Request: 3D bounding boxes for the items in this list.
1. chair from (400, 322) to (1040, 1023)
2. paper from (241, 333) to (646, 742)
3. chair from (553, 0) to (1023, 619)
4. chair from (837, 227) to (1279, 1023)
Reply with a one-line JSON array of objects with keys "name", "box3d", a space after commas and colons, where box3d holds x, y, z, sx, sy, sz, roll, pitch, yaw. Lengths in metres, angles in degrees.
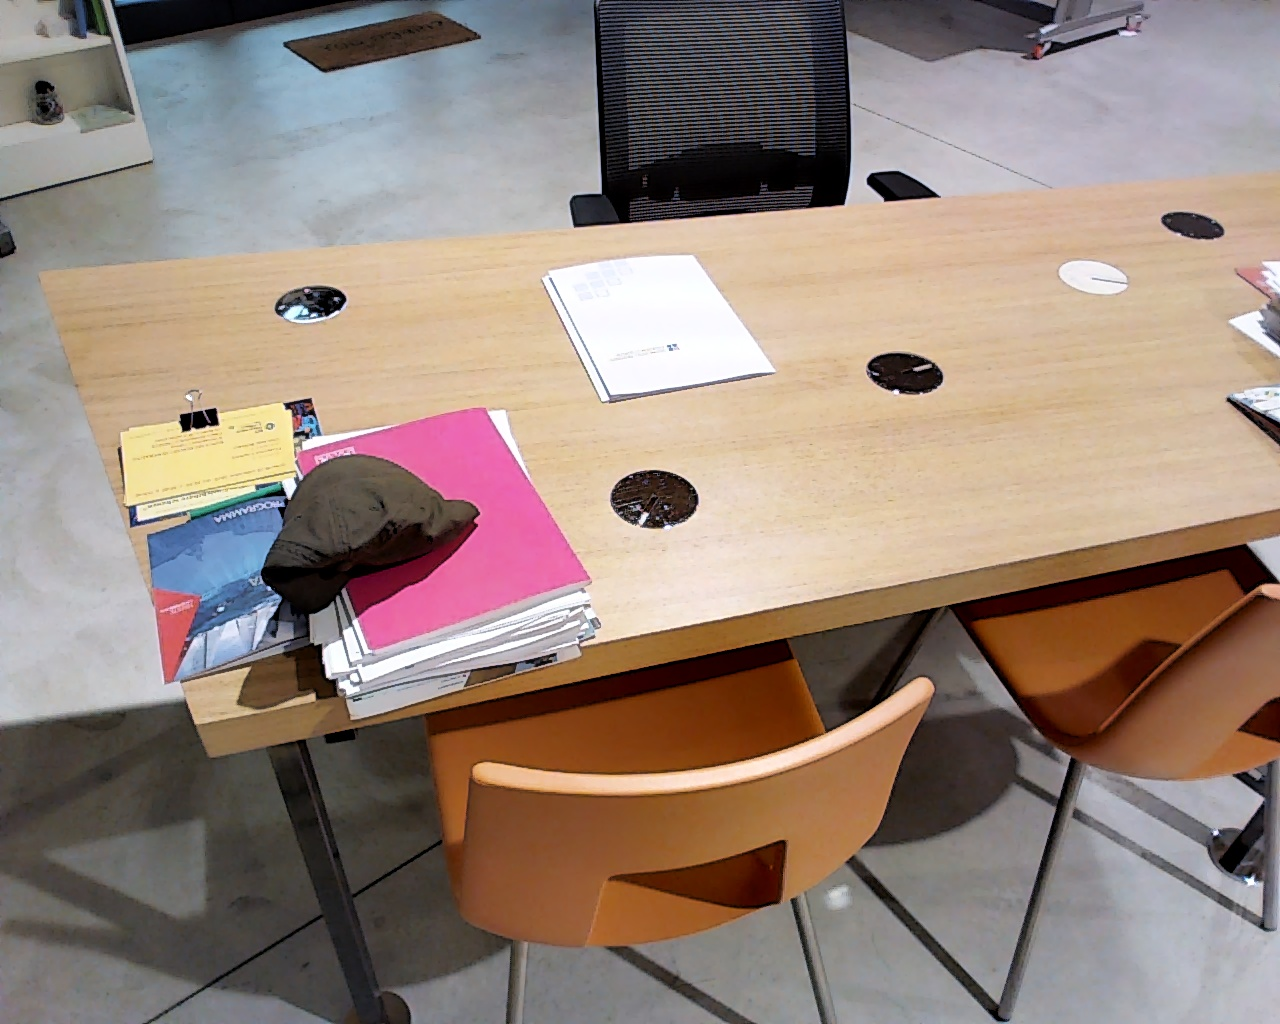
[{"name": "chair", "box3d": [0.030, 0.290, 1.290, 0.480, 0.800, 0.610, -3, 42, -5]}, {"name": "paper", "box3d": [-0.200, 0.000, 1.040, 0.290, 0.120, 0.370, -15, 44, -17]}, {"name": "chair", "box3d": [0.170, -0.390, 1.980, 0.620, 0.940, 0.690, -2, 42, -3]}, {"name": "chair", "box3d": [0.700, 0.150, 1.470, 0.590, 0.810, 0.670, -4, 42, -6]}]
